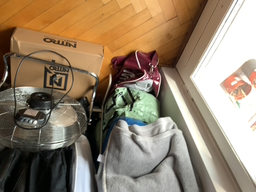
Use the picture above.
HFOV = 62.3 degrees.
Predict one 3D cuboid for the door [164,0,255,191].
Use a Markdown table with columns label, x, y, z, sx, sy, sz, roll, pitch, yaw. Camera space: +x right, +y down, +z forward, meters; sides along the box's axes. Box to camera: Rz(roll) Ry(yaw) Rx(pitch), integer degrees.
| label | x | y | z | sx | sy | sz | roll | pitch | yaw |
| --- | --- | --- | --- | --- | --- | --- | --- | --- | --- |
| door | 0.670 | 0.060 | 0.490 | 0.160 | 2.370 | 1.210 | 3 | 132 | -14 |
